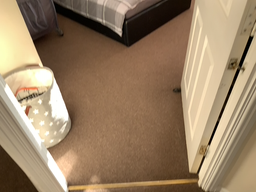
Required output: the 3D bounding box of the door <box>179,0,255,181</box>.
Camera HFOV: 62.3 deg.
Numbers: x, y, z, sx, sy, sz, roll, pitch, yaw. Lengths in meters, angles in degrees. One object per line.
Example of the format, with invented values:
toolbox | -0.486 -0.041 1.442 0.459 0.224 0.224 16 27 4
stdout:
door | 0.370 -0.510 0.860 0.060 1.970 0.890 4 46 8
